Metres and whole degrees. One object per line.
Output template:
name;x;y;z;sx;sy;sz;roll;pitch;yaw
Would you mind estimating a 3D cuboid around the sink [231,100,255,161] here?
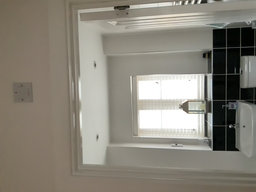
sink;1.260;0.340;2.240;0.430;0.170;0.550;-29;-62;-80
